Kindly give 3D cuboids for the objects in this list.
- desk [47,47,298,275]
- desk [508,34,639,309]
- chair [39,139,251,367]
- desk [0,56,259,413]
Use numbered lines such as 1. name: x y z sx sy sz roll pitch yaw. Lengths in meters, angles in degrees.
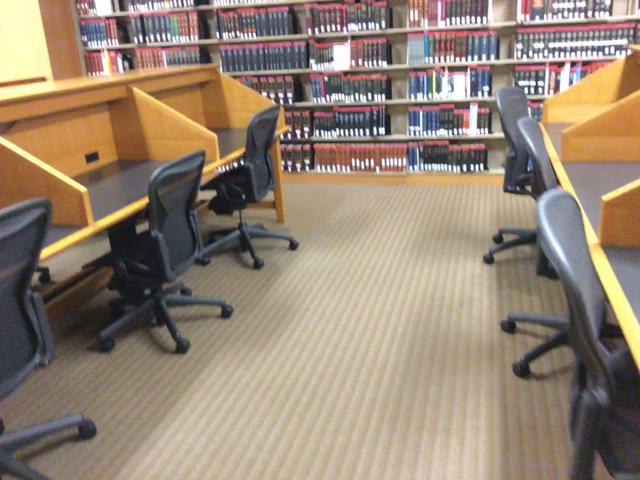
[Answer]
1. desk: -0.830 -0.600 3.830 1.010 1.210 1.280 2 20 12
2. desk: 1.580 -0.480 3.240 0.820 1.230 1.360 2 20 12
3. chair: -0.790 0.030 2.820 0.680 0.940 0.570 2 20 12
4. desk: -1.000 -0.170 2.880 0.890 1.330 1.400 2 20 12
